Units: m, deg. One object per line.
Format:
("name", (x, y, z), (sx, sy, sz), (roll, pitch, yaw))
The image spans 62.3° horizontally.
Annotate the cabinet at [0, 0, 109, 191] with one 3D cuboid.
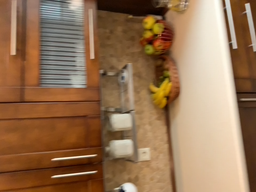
("cabinet", (-0.510, 0.180, 1.080), (0.320, 0.740, 1.640), (153, 115, -69))
